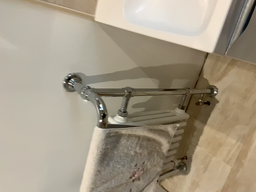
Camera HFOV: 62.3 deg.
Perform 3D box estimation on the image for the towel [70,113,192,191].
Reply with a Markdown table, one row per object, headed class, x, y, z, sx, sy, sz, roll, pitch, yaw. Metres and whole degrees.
| class | x | y | z | sx | sy | sz | roll | pitch | yaw |
| --- | --- | --- | --- | --- | --- | --- | --- | --- | --- |
| towel | 0.010 | 0.330 | 0.840 | 0.080 | 0.490 | 0.500 | 32 | 113 | 40 |
